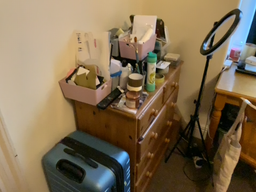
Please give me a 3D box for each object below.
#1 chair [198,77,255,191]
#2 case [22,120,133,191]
[{"bbox_3d":[0.940,0.370,1.510,0.530,0.810,0.480,-25,41,-35],"label":"chair"},{"bbox_3d":[-0.270,0.560,1.320,0.470,0.620,0.360,16,35,21],"label":"case"}]
